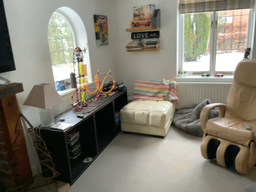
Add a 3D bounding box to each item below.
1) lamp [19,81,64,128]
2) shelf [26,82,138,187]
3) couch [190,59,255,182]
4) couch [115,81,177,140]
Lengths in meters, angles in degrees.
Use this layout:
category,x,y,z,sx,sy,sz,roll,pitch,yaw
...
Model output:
category,x,y,z,sx,sy,sz,roll,pitch,yaw
lamp,-0.930,0.080,2.320,0.260,0.430,0.300,3,17,22
shelf,-0.460,0.360,3.230,0.480,0.680,2.110,3,17,23
couch,1.380,0.180,2.620,1.080,1.130,0.660,-16,20,-37
couch,0.370,0.180,3.660,0.770,0.680,1.010,3,17,22
